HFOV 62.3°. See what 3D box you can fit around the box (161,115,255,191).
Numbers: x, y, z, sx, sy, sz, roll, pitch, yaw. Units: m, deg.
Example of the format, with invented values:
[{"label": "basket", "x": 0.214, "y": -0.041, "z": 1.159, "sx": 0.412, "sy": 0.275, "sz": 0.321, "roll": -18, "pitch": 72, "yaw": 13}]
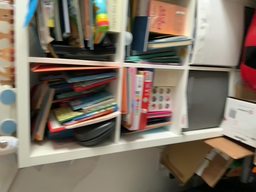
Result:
[{"label": "box", "x": 0.590, "y": 0.430, "z": 1.510, "sx": 0.500, "sy": 0.460, "sz": 0.460, "roll": 20, "pitch": 108, "yaw": 60}]
